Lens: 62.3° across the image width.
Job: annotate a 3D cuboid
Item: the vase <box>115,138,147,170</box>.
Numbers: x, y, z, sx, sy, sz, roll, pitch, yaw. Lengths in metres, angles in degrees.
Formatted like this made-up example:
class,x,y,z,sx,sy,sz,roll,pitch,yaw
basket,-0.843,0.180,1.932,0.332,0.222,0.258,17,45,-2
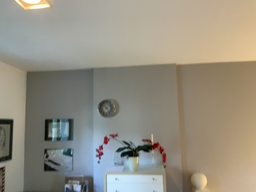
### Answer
class,x,y,z,sx,sy,sz,roll,pitch,yaw
vase,0.050,0.700,2.600,0.360,0.330,0.350,-2,-7,6

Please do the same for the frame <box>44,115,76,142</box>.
class,x,y,z,sx,sy,sz,roll,pitch,yaw
frame,-0.960,0.460,3.010,0.440,0.380,0.050,-2,-7,4
